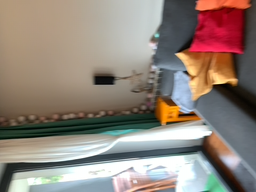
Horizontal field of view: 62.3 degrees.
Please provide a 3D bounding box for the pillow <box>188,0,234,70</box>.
[{"bbox_3d":[0.670,-0.490,1.670,0.170,0.450,0.350,-4,131,39],"label":"pillow"}]

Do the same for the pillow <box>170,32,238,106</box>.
[{"bbox_3d":[0.650,-0.230,1.780,0.380,0.460,0.220,47,146,-7],"label":"pillow"}]
